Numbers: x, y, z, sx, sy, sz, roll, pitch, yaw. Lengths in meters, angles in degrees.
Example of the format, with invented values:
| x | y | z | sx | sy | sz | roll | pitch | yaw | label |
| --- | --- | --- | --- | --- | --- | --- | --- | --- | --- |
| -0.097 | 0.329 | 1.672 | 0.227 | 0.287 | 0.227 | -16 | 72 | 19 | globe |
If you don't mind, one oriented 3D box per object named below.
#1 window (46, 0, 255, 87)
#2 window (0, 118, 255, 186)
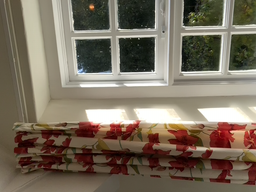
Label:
| x | y | z | sx | sy | sz | roll | pitch | yaw | label |
| --- | --- | --- | --- | --- | --- | --- | --- | --- | --- |
| 0.240 | -0.490 | 1.140 | 0.280 | 1.260 | 0.830 | -83 | -8 | -74 | window |
| 0.360 | 0.250 | 0.980 | 0.170 | 1.870 | 0.250 | -83 | -8 | -73 | window |
